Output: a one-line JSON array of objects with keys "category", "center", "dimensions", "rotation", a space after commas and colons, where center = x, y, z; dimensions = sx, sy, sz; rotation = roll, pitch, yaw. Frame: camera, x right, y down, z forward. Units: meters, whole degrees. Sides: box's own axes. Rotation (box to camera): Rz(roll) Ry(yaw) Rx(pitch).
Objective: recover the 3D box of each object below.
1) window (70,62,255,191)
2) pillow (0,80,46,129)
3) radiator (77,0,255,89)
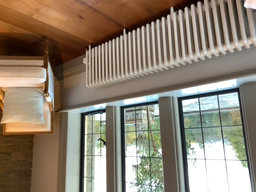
[{"category": "window", "center": [0.370, 0.800, 1.810], "dimensions": [2.580, 1.880, 0.160], "rotation": [-10, 166, 37]}, {"category": "pillow", "center": [-1.200, 0.090, 2.320], "dimensions": [0.490, 0.390, 0.220], "rotation": [-13, 157, -11]}, {"category": "radiator", "center": [0.170, -0.460, 1.860], "dimensions": [1.670, 0.510, 0.170], "rotation": [-10, 166, 37]}]
